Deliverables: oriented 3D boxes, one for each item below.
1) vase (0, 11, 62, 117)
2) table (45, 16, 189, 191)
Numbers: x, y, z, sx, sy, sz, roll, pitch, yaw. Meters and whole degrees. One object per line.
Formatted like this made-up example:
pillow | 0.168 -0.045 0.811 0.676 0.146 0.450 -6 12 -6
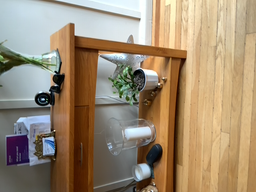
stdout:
vase | -0.570 -0.140 0.930 0.390 0.440 0.380 17 105 56
table | -0.070 0.240 1.300 0.400 0.750 1.200 9 98 57
